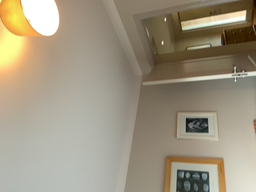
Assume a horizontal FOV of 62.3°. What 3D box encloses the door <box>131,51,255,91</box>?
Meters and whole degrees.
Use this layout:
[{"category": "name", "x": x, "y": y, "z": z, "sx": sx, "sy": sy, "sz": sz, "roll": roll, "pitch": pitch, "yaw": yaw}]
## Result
[{"category": "door", "x": 1.180, "y": -0.340, "z": 2.490, "sx": 0.900, "sy": 2.120, "sz": 0.180, "roll": -43, "pitch": -53, "yaw": -65}]
